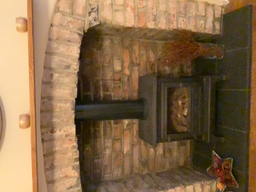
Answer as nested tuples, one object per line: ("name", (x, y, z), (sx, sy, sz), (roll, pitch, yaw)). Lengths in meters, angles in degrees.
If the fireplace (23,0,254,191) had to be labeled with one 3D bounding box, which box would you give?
("fireplace", (0.080, 0.110, 1.540), (0.650, 1.450, 1.630), (-174, 83, -68))
